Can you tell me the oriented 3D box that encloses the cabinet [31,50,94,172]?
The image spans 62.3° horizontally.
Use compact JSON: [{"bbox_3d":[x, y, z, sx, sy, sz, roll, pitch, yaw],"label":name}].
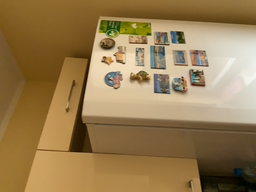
[{"bbox_3d":[-0.340,0.070,1.250,0.310,0.170,0.640,95,178,-54],"label":"cabinet"}]
